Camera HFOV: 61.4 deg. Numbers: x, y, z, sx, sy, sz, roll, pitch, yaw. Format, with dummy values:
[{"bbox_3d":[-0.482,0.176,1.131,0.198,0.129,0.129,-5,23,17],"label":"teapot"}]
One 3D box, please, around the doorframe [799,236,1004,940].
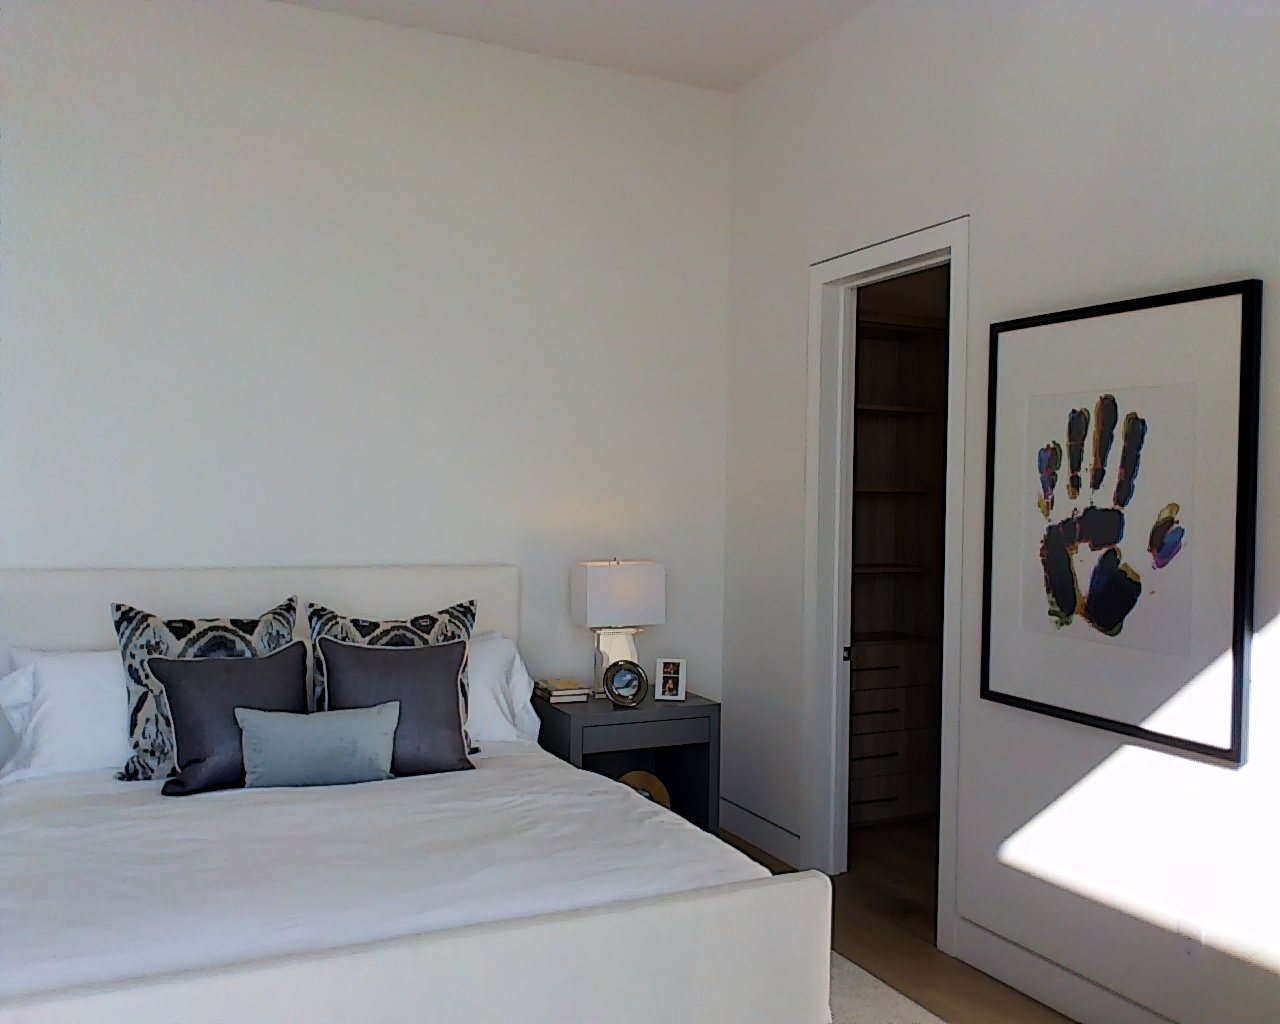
[{"bbox_3d":[0.970,0.260,4.110,0.200,2.440,0.750,3,0,-27],"label":"doorframe"}]
